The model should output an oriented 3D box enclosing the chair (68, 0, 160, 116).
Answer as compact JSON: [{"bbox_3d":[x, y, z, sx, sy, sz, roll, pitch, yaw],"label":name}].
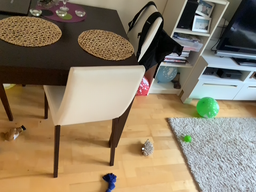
[{"bbox_3d":[-0.180,-0.300,1.800,0.550,0.860,0.430,7,42,-14],"label":"chair"}]

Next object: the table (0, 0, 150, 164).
[{"bbox_3d":[-0.520,-0.140,1.590,0.940,0.740,0.940,1,44,-20],"label":"table"}]

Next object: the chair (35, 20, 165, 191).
[{"bbox_3d":[-0.270,0.080,1.350,0.490,0.860,0.610,-7,47,-27],"label":"chair"}]

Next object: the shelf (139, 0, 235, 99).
[{"bbox_3d":[0.490,-0.460,2.080,0.420,1.060,0.320,1,44,-20],"label":"shelf"}]
